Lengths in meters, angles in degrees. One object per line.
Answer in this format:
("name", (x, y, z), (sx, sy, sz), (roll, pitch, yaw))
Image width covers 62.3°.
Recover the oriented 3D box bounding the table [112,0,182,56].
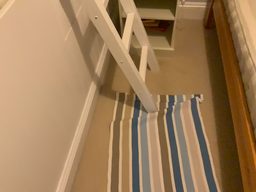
("table", (0.150, -0.710, 1.590), (0.450, 0.680, 0.420), (5, 54, 6))
